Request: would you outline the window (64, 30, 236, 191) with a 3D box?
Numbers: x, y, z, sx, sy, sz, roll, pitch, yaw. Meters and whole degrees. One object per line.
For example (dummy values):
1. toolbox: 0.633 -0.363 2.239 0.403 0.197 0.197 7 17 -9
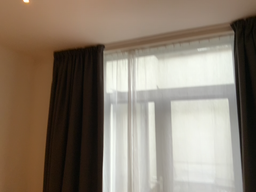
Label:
1. window: 0.120 0.700 2.130 1.700 2.500 0.170 -3 -8 21
